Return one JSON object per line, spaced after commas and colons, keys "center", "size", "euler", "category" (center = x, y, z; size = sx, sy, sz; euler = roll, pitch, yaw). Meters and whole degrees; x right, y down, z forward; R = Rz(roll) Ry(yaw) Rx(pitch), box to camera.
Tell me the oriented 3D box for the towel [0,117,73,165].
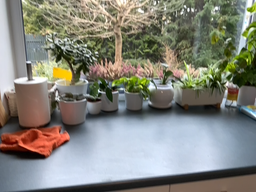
{"center": [-0.410, 0.190, 0.960], "size": [0.300, 0.090, 0.240], "euler": [-2, 17, -13], "category": "towel"}
